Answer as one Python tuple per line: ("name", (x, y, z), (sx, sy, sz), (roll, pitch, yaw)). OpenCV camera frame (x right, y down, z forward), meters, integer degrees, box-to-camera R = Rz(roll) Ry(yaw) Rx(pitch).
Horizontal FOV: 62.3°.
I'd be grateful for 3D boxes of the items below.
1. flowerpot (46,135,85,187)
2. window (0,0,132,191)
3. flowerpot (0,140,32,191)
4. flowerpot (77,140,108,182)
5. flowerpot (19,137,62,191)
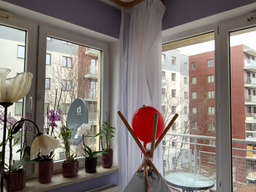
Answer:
("flowerpot", (-0.600, 0.600, 2.030), (0.250, 0.400, 0.260), (4, -5, -43))
("window", (-0.720, 0.080, 1.930), (1.670, 1.730, 0.430), (4, -5, -44))
("flowerpot", (-0.950, 0.560, 1.680), (0.250, 0.370, 0.270), (4, -5, -43))
("flowerpot", (-0.380, 0.680, 2.270), (0.180, 0.350, 0.320), (4, -4, -40))
("flowerpot", (-0.770, 0.600, 1.860), (0.250, 0.430, 0.300), (4, -4, -42))
